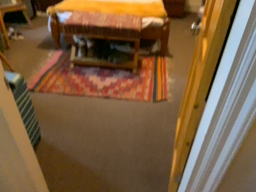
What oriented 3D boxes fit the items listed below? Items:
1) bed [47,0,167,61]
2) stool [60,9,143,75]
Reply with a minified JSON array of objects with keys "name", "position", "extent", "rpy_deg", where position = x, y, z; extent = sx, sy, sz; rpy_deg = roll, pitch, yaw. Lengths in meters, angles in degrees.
[{"name":"bed","position":[-0.200,-1.360,3.490],"extent":[1.450,0.520,2.040],"rpy_deg":[4,39,1]},{"name":"stool","position":[-0.280,-0.650,2.530],"extent":[0.830,0.560,0.430],"rpy_deg":[7,39,4]}]
